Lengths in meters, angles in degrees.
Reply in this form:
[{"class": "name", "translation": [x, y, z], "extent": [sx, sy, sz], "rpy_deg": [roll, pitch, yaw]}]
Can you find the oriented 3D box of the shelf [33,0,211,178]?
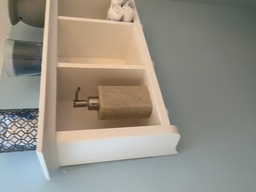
[{"class": "shelf", "translation": [-0.060, -0.120, 0.590], "extent": [0.190, 0.310, 0.590], "rpy_deg": [111, 153, -54]}]
